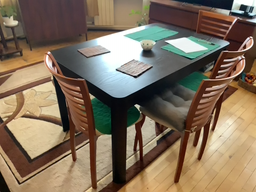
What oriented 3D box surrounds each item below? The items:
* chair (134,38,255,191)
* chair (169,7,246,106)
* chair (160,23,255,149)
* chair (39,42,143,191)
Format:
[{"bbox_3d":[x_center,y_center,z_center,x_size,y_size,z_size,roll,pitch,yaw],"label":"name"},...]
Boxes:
[{"bbox_3d":[0.410,0.120,1.530,0.460,0.860,0.520,-28,44,-36],"label":"chair"},{"bbox_3d":[0.830,-0.440,2.330,0.490,0.890,0.430,-27,43,-35],"label":"chair"},{"bbox_3d":[0.670,-0.100,1.860,0.450,0.870,0.520,-28,44,-36],"label":"chair"},{"bbox_3d":[-0.220,0.150,1.460,0.430,0.860,0.410,-28,44,-36],"label":"chair"}]
